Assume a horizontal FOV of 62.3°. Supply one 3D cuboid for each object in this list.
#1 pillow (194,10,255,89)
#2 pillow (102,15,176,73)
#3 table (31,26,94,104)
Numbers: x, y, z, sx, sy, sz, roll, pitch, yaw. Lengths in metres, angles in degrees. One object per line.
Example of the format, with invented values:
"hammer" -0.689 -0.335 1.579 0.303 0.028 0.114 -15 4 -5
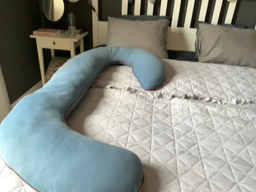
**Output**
"pillow" 0.920 -0.400 1.920 0.500 0.510 0.420 8 65 7
"pillow" 0.100 -0.460 1.860 0.570 0.340 0.290 7 43 6
"table" -0.670 -0.350 2.320 0.480 0.690 0.430 7 29 5
